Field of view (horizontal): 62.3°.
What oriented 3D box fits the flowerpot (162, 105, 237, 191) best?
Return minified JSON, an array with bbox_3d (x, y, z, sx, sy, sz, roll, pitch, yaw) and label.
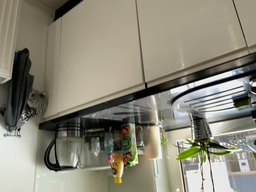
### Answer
[{"bbox_3d":[0.440,0.410,1.300,0.280,0.620,0.280,-18,156,35],"label":"flowerpot"}]
